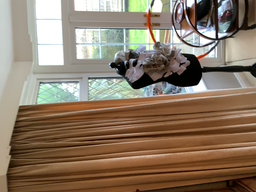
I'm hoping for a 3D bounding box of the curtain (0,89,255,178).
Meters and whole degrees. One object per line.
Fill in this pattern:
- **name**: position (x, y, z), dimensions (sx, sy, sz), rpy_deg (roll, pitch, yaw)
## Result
- **curtain**: position (0.230, 0.270, 1.870), dimensions (0.230, 2.470, 0.570), rpy_deg (98, 166, -49)
